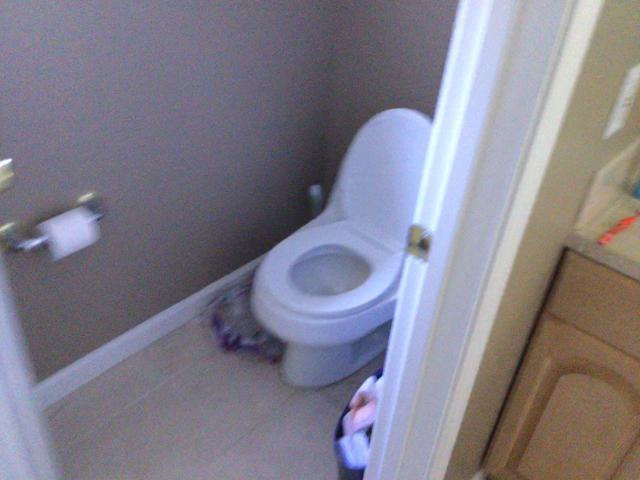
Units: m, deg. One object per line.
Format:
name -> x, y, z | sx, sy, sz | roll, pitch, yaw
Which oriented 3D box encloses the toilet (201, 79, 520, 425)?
toilet -> 0.110, -0.020, 1.680 | 0.500, 0.640, 0.700 | 30, 41, 33
